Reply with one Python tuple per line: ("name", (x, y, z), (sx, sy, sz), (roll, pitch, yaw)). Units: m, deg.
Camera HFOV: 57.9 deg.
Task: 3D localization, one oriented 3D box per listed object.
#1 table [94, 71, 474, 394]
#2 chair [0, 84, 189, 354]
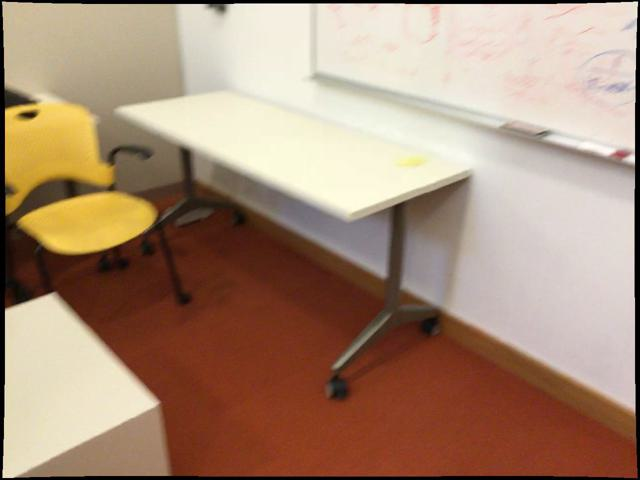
("table", (-0.270, -0.190, 2.570), (0.690, 0.721, 1.649), (-21, 36, -38))
("chair", (-0.989, -0.140, 2.320), (0.550, 0.751, 0.750), (-21, 36, -38))
